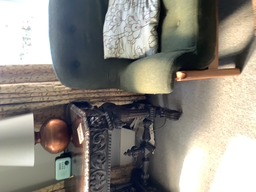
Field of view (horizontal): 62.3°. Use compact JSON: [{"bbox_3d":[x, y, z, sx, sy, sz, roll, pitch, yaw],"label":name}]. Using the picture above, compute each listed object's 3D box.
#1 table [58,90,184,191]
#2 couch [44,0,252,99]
[{"bbox_3d":[-0.110,0.410,1.680,0.740,0.700,0.800,18,108,59],"label":"table"},{"bbox_3d":[0.030,-0.440,1.230,0.840,0.830,0.850,-5,89,60],"label":"couch"}]
